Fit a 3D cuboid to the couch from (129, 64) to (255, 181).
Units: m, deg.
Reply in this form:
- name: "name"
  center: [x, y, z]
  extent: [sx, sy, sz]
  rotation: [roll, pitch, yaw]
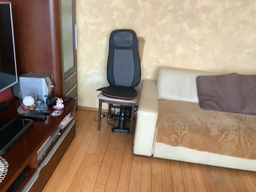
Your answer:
- name: "couch"
  center: [1.060, 0.250, 2.330]
  extent: [1.950, 0.740, 0.960]
  rotation: [8, 23, 4]
